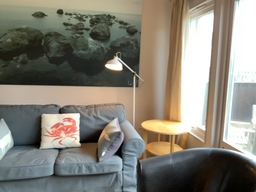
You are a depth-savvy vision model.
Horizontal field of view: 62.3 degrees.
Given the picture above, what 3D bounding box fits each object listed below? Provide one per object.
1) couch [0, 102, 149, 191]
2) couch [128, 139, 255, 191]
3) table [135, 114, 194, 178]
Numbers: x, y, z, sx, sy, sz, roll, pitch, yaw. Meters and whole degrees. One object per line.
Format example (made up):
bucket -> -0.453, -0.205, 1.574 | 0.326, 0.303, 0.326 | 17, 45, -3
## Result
couch -> -0.780, 0.550, 2.350 | 1.800, 0.790, 0.970 | -1, 8, -11
couch -> 0.450, 0.780, 1.370 | 0.770, 0.720, 0.780 | -1, 9, -11
table -> 0.440, 0.620, 2.840 | 0.530, 0.570, 0.720 | -1, 9, -11
